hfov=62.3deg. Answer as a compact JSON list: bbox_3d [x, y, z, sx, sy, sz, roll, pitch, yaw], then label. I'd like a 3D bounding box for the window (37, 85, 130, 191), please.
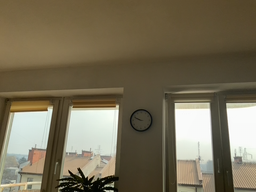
[{"bbox_3d":[-0.480,0.600,2.390,0.920,1.400,0.250,-2,-17,17],"label":"window"}]

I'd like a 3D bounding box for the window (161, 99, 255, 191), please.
[{"bbox_3d":[0.960,0.690,2.030,1.270,1.330,0.120,-1,-17,13],"label":"window"}]
